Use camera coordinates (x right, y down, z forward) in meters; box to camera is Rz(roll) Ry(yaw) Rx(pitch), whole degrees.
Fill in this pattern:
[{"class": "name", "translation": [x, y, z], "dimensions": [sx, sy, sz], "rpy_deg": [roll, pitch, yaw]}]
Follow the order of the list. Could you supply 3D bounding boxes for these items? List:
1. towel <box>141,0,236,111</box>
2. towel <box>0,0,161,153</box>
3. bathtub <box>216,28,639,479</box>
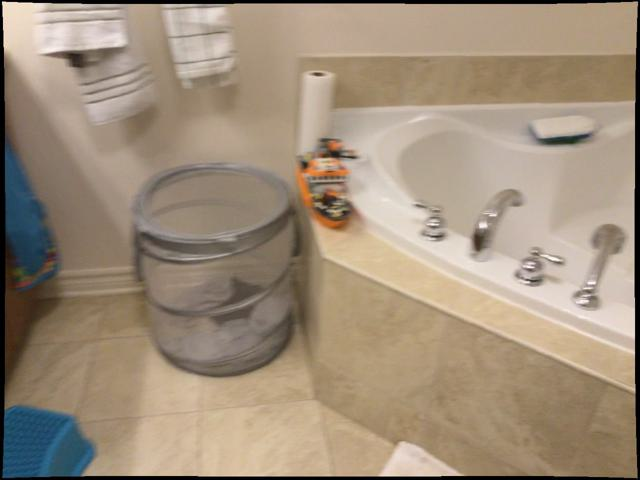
[{"class": "towel", "translation": [-0.350, -0.571, 1.560], "dimensions": [0.210, 0.390, 0.170], "rpy_deg": [-5, 36, -8]}, {"class": "towel", "translation": [-0.639, -0.511, 1.530], "dimensions": [0.340, 0.500, 0.190], "rpy_deg": [-5, 36, -8]}, {"class": "bathtub", "translation": [0.939, 0.100, 1.580], "dimensions": [1.969, 0.700, 1.340], "rpy_deg": [22, 41, 28]}]
